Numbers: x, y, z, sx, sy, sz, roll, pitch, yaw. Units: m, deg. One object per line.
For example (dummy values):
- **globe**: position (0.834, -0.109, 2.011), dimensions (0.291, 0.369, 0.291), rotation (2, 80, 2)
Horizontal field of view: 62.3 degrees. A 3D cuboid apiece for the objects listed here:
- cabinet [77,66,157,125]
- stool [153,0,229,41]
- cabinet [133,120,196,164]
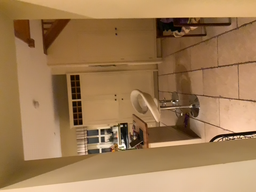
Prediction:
- **cabinet**: position (-0.290, -0.050, 5.760), dimensions (0.740, 1.990, 1.420), rotation (-156, 64, -80)
- **stool**: position (0.780, -1.010, 2.770), dimensions (0.670, 0.730, 0.450), rotation (-154, 61, -80)
- **cabinet**: position (0.620, 0.810, 3.980), dimensions (1.110, 0.840, 0.450), rotation (-157, 64, -80)
